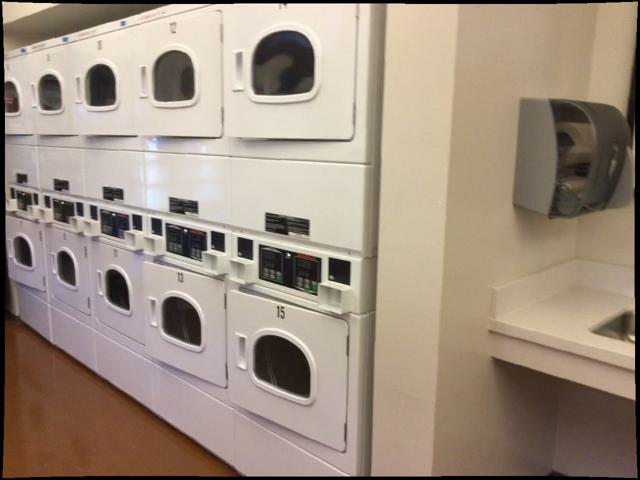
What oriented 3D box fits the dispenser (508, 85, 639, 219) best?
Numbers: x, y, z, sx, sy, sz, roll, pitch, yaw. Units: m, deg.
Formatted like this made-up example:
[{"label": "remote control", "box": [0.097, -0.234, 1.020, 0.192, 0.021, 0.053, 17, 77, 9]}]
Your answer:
[{"label": "dispenser", "box": [0.809, -0.280, 1.790, 0.370, 0.360, 0.270, -11, 16, -43]}]
